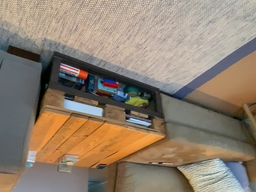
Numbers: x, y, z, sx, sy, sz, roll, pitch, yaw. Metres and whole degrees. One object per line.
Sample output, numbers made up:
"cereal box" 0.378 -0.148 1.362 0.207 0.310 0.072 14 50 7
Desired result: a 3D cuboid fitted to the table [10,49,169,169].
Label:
"table" -0.340 0.220 1.650 0.820 0.400 0.950 17 143 -30
